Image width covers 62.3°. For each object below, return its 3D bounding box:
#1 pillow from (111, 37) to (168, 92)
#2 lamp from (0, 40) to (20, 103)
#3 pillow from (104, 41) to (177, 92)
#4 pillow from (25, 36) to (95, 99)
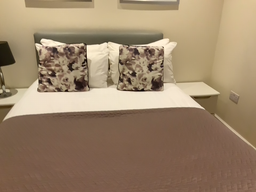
[{"bbox_3d":[0.110,-0.260,1.870,0.400,0.400,0.090,-17,43,9],"label":"pillow"},{"bbox_3d":[-1.290,-0.250,2.100,0.220,0.540,0.360,-3,22,-9],"label":"lamp"},{"bbox_3d":[0.080,-0.320,2.110,0.600,0.370,0.570,-2,22,-8],"label":"pillow"},{"bbox_3d":[-0.550,-0.230,1.780,0.430,0.390,0.110,-23,38,-7],"label":"pillow"}]
